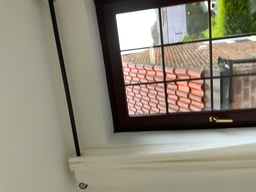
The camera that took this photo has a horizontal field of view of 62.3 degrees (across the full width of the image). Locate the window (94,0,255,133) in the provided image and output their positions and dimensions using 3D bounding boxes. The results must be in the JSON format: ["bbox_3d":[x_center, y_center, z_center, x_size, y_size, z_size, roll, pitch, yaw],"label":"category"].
[{"bbox_3d":[0.600,-0.230,1.500,0.080,1.590,0.980,-56,-39,-73],"label":"window"}]
